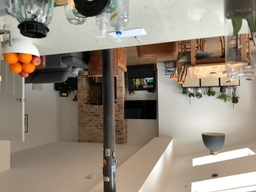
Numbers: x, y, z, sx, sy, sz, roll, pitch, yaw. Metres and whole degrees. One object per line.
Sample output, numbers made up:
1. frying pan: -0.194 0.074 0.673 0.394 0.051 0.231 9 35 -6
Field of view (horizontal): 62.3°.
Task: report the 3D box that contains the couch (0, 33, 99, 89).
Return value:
1. couch: -2.200 -0.710 5.010 2.800 0.910 1.060 -2 178 18
